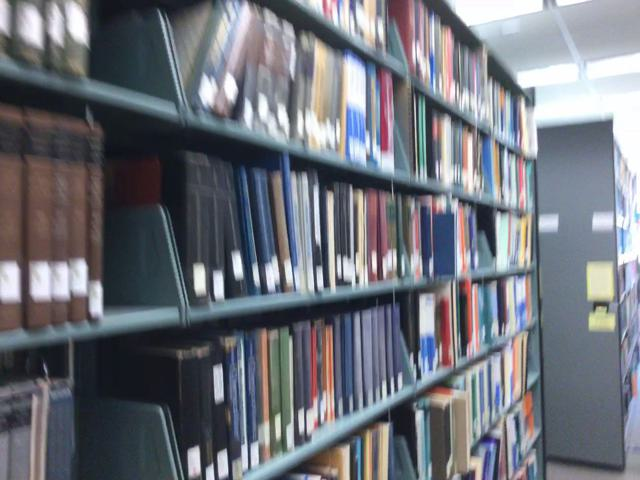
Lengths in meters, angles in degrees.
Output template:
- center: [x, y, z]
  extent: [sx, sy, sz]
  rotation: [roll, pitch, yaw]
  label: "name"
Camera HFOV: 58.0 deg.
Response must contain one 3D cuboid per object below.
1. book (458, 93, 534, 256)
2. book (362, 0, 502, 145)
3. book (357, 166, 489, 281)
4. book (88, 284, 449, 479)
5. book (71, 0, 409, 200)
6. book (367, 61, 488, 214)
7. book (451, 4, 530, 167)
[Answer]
- center: [0.860, -0.260, 2.760]
  extent: [0.150, 0.660, 0.820]
  rotation: [-3, -4, 29]
  label: "book"
- center: [0.430, -0.600, 1.980]
  extent: [0.150, 0.350, 1.020]
  rotation: [-3, -4, 29]
  label: "book"
- center: [0.360, -0.030, 1.890]
  extent: [0.230, 0.310, 0.610]
  rotation: [-3, -4, 29]
  label: "book"
- center: [0.020, 0.290, 1.400]
  extent: [0.220, 0.330, 1.210]
  rotation: [-3, -4, 29]
  label: "book"
- center: [-0.070, -0.320, 1.250]
  extent: [0.190, 0.360, 0.940]
  rotation: [-3, -4, 29]
  label: "book"
- center: [0.400, -0.300, 1.970]
  extent: [0.140, 0.350, 0.820]
  rotation: [-3, -4, 29]
  label: "book"
- center: [0.850, -0.700, 2.810]
  extent: [0.180, 0.560, 0.780]
  rotation: [-3, -4, 29]
  label: "book"
